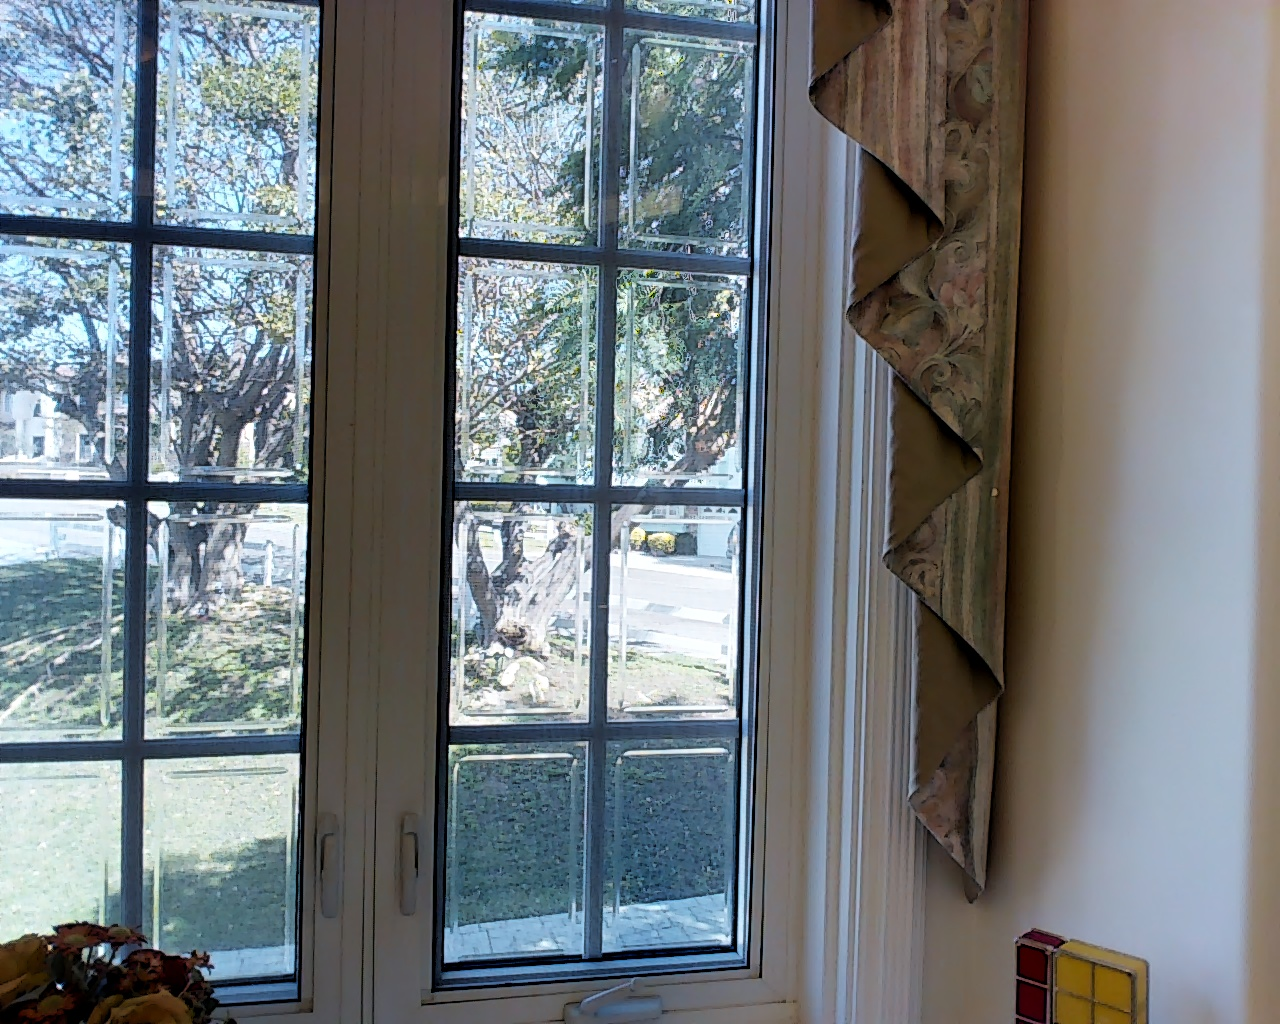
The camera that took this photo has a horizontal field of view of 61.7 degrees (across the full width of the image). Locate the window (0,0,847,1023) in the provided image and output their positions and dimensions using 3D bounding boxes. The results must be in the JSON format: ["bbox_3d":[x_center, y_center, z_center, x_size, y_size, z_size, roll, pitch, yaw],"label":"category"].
[{"bbox_3d":[-0.590,-0.140,1.260,1.700,1.640,0.120,1,1,-12],"label":"window"}]

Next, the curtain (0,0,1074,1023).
[{"bbox_3d":[-0.570,-0.310,1.130,2.120,2.030,0.240,1,1,-12],"label":"curtain"}]
